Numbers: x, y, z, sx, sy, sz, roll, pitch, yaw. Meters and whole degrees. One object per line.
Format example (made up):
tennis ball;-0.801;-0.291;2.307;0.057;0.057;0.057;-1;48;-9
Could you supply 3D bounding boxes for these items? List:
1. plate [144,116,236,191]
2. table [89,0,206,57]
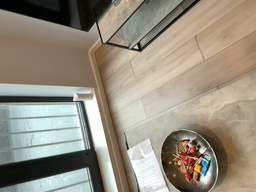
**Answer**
plate;0.270;0.340;1.040;0.310;0.040;0.370;56;127;32
table;0.210;-0.740;1.470;1.070;0.420;0.360;-33;66;42
